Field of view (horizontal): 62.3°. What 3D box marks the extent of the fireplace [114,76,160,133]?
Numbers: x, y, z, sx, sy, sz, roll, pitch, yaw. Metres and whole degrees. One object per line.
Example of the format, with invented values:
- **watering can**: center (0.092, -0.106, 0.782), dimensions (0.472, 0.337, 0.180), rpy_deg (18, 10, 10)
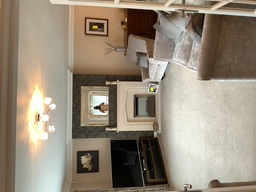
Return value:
- **fireplace**: center (0.200, 0.220, 5.750), dimensions (0.830, 1.100, 1.420), rpy_deg (162, 108, -80)
